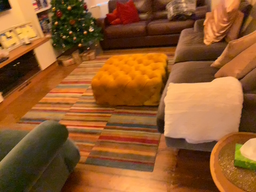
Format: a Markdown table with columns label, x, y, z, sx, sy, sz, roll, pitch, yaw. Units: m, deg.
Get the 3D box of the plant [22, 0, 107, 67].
| label | x | y | z | sx | sy | sz | roll | pitch | yaw |
| --- | --- | --- | --- | --- | --- | --- | --- | --- | --- |
| plant | -1.100 | -1.490 | 3.650 | 0.970 | 1.800 | 0.670 | -2 | 32 | 13 |
